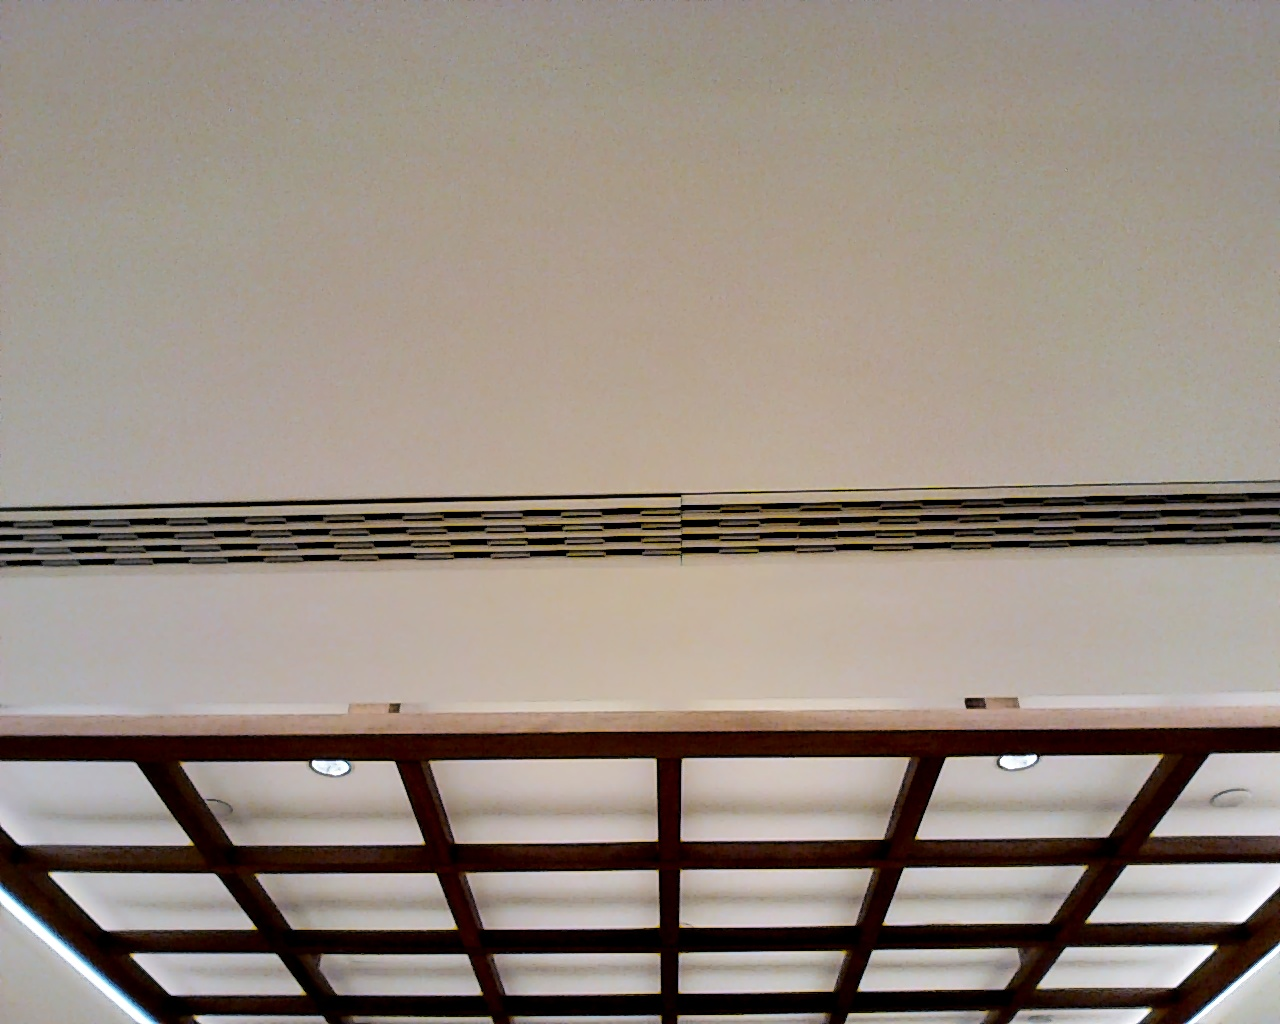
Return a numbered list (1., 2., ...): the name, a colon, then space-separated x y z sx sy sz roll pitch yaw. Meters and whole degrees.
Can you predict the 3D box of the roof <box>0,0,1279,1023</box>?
1. roof: -2.219 1.111 2.830 9.266 0.190 5.461 0 -42 1
